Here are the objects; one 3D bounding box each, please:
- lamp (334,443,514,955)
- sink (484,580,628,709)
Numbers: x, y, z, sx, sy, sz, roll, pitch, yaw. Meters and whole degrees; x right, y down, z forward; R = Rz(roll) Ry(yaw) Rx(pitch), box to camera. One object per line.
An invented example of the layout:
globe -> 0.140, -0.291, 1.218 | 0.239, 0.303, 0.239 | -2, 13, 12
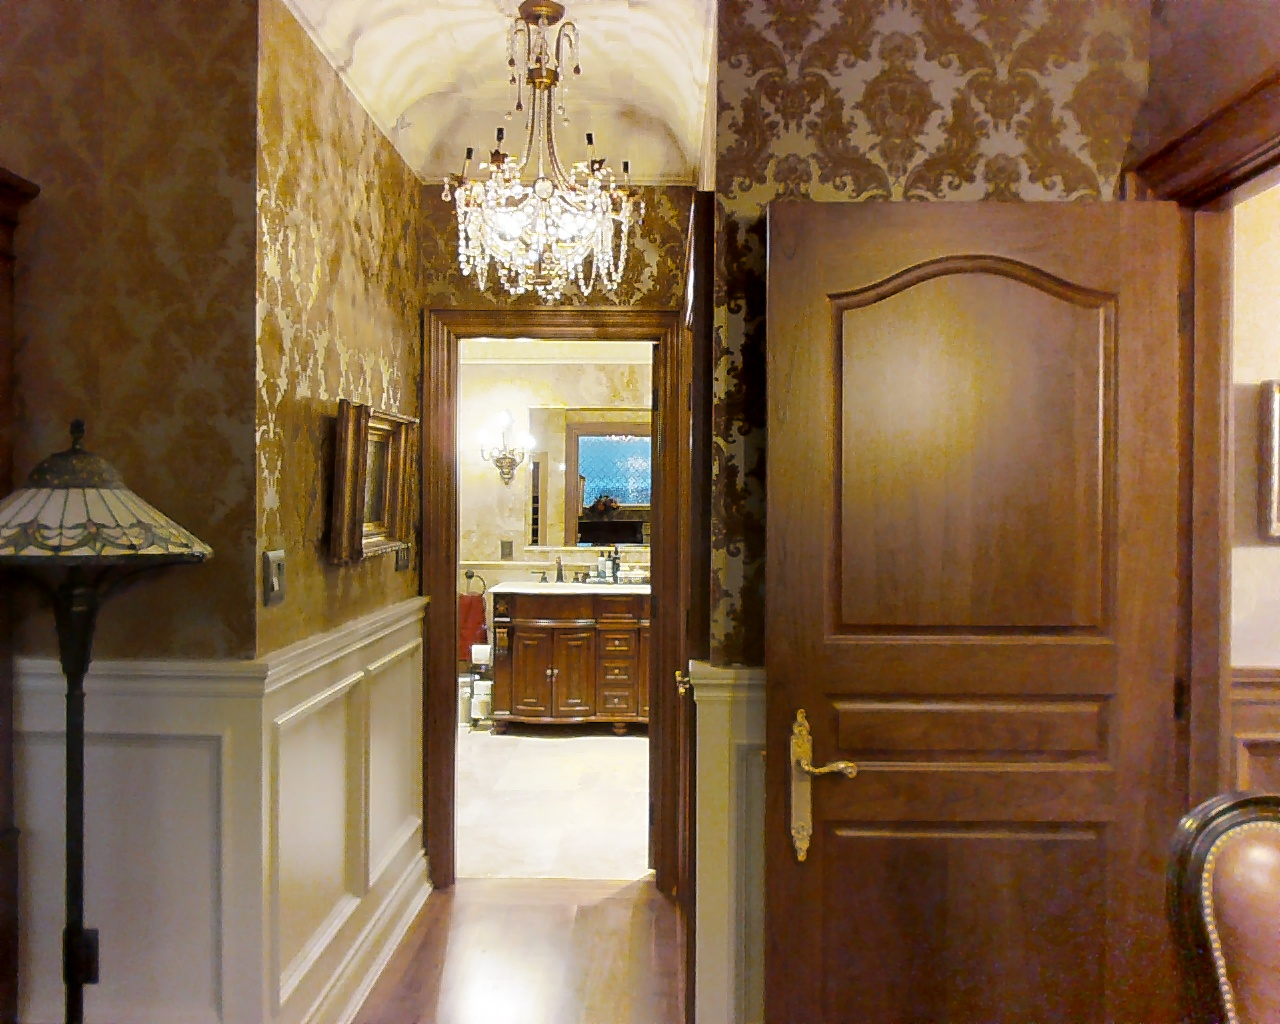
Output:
lamp -> -0.690, 0.570, 3.530 | 0.470, 1.560, 0.480 | 0, 0, 2
sink -> -0.500, 0.800, 6.630 | 0.830, 0.710, 0.550 | 0, 0, 2
